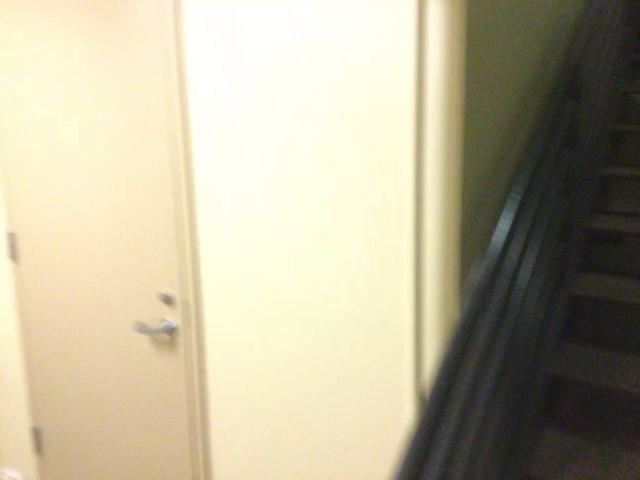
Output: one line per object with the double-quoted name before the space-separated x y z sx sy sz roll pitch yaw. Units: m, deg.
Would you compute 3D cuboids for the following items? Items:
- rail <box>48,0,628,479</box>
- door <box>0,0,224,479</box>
"rail" 0.560 0.120 1.590 0.140 1.760 2.640 8 15 31
"door" -0.760 0.030 1.890 0.980 2.240 0.130 8 15 31
